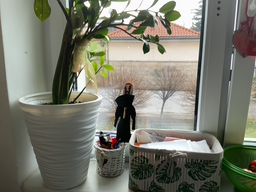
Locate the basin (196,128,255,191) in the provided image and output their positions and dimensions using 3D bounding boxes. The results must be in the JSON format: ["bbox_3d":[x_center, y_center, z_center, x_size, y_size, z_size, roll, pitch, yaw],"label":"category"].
[{"bbox_3d":[0.450,0.270,0.780,0.330,0.200,0.270,3,11,9],"label":"basin"}]

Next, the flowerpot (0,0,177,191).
[{"bbox_3d":[-0.130,-0.090,0.760,0.550,0.900,0.280,2,11,7],"label":"flowerpot"}]
